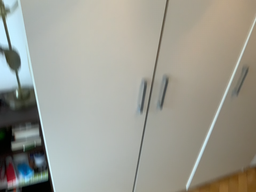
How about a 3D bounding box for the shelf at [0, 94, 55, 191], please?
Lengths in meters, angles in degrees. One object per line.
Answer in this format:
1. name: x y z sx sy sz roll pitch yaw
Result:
1. shelf: -0.630 0.360 1.250 0.290 0.670 0.280 -9 37 -20
